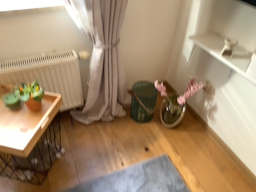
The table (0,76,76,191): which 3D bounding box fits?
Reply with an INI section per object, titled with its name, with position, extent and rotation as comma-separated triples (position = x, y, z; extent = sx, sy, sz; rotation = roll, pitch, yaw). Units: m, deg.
[table]
position = -0.650, 0.230, 1.330
extent = 0.440, 0.460, 0.440
rotation = 12, 42, 8
